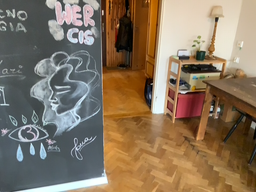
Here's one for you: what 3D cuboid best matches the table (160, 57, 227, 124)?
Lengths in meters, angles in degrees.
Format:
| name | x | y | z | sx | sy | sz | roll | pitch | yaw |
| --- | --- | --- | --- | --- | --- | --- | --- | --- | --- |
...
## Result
| name | x | y | z | sx | sy | sz | roll | pitch | yaw |
| --- | --- | --- | --- | --- | --- | --- | --- | --- | --- |
| table | 0.910 | -0.090 | 3.050 | 0.770 | 0.890 | 0.280 | -3 | 22 | -13 |

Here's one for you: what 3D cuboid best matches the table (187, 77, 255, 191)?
| name | x | y | z | sx | sy | sz | roll | pitch | yaw |
| --- | --- | --- | --- | --- | --- | --- | --- | --- | --- |
| table | 1.330 | 0.420 | 1.970 | 0.830 | 0.780 | 1.420 | -3 | 22 | -14 |
